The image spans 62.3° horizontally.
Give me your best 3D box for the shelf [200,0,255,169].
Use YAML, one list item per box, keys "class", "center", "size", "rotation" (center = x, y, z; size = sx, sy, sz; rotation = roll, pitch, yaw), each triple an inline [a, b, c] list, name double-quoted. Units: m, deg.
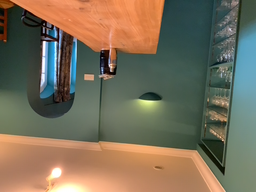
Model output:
- class: "shelf"
  center: [1.310, -0.410, 2.540]
  size: [0.460, 2.240, 0.940]
  rotation: [4, -175, 5]
